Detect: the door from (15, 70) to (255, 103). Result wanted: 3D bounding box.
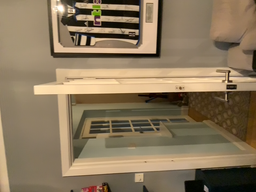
[{"bbox_3d":[0.460,-0.110,1.560,0.920,2.090,0.100,-121,31,-78],"label":"door"}]
